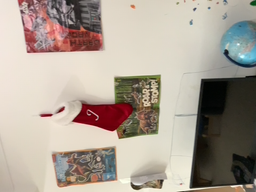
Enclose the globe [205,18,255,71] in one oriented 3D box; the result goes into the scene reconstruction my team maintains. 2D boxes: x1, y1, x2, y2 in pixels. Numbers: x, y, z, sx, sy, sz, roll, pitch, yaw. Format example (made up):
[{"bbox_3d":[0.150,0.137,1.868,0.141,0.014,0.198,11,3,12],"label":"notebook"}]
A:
[{"bbox_3d":[0.660,-0.300,1.180,0.280,0.320,0.240,-111,18,-68],"label":"globe"}]
